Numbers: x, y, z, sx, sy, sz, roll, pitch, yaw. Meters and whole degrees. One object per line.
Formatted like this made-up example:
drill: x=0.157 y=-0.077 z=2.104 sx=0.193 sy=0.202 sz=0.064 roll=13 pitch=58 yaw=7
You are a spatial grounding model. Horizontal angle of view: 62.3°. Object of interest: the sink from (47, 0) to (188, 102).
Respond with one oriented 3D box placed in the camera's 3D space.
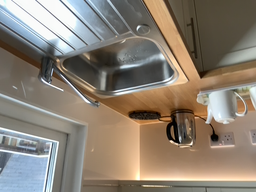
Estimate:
sink: x=-0.030 y=-0.170 z=1.020 sx=0.520 sy=0.200 sz=0.410 roll=-10 pitch=156 yaw=26
